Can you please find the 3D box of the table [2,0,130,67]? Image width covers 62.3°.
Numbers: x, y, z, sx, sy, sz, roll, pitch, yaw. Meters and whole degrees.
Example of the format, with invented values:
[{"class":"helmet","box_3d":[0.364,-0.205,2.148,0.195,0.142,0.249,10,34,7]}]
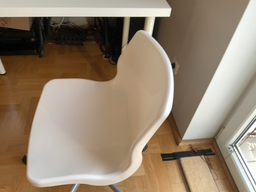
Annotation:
[{"class":"table","box_3d":[-0.430,-0.730,1.620,0.780,0.790,0.590,-2,47,-10]}]
